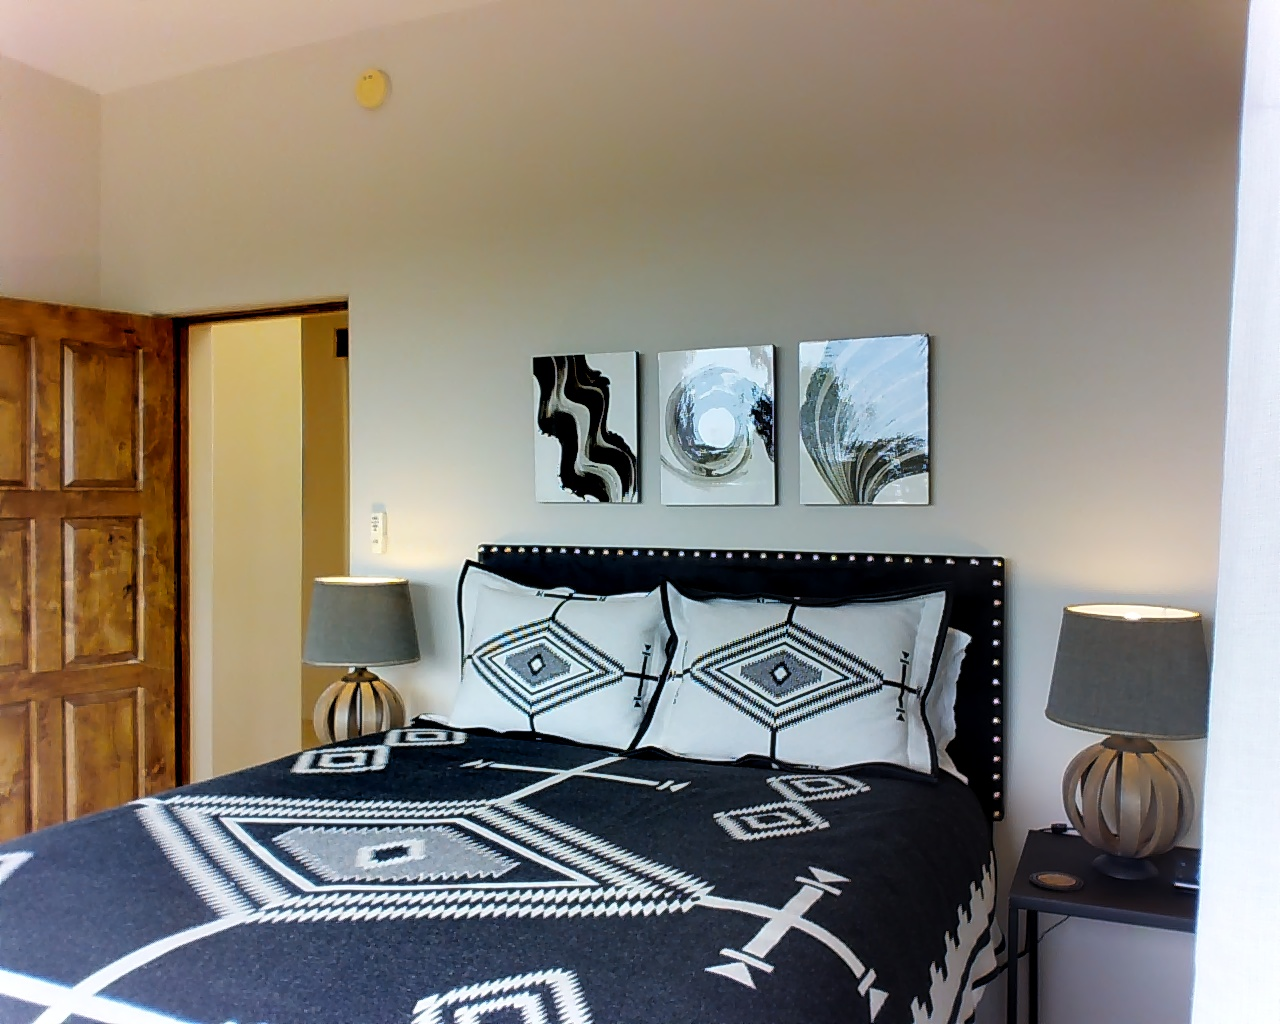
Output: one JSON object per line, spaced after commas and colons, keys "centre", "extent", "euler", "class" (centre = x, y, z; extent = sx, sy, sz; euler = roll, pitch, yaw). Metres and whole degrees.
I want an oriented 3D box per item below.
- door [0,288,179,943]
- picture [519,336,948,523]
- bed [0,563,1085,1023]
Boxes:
{"centre": [-2.040, 0.340, 3.680], "extent": [0.110, 2.151, 0.880], "euler": [0, 0, 41], "class": "door"}
{"centre": [0.220, -0.210, 3.040], "extent": [1.260, 0.480, 0.070], "euler": [0, 0, 24], "class": "picture"}
{"centre": [-0.300, 0.790, 2.050], "extent": [2.040, 1.250, 2.290], "euler": [0, 0, 25], "class": "bed"}
